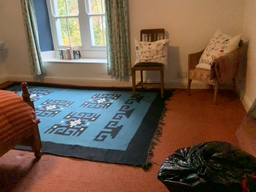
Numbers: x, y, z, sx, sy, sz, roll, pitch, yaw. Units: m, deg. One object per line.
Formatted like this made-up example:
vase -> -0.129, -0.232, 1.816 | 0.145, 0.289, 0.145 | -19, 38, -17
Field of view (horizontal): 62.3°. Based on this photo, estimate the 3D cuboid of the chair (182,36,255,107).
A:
chair -> 1.230, -0.380, 2.870 | 0.680, 0.760, 0.740 | -8, 20, -14
